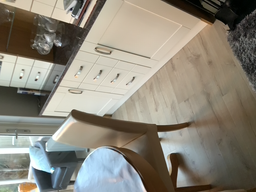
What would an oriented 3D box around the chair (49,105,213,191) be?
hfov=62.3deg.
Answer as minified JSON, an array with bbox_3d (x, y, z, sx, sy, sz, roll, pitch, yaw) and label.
[{"bbox_3d":[0.020,0.460,1.500,0.450,0.990,0.570,-41,51,44],"label":"chair"}]
